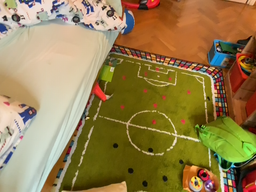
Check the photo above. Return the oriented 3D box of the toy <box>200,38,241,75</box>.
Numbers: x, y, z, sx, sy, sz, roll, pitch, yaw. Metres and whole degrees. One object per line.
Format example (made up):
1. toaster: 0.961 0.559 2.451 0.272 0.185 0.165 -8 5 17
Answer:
1. toy: 0.870 -0.380 2.030 0.310 0.140 0.280 14 51 1
